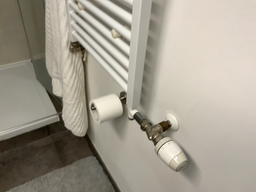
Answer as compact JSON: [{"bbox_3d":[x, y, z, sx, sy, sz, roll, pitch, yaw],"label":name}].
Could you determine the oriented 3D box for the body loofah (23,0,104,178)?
[{"bbox_3d":[-0.340,-0.270,1.090,0.210,1.690,0.490,-19,45,-25],"label":"body loofah"}]
